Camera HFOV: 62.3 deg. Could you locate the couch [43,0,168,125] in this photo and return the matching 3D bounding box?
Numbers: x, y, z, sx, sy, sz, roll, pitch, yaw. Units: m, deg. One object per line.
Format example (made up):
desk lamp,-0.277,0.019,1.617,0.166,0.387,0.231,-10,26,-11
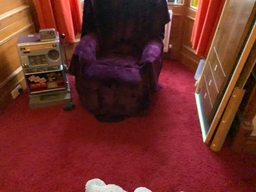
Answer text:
couch,-0.100,-0.440,2.070,0.850,0.990,0.920,6,39,6
